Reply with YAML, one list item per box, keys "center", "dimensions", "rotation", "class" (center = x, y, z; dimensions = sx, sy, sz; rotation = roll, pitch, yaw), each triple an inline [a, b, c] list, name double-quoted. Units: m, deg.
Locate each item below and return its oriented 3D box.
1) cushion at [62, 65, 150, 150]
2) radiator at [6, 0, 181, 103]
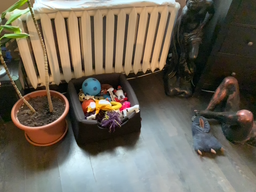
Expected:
- center: [-0.180, 0.050, 1.530]
  dimensions: [0.470, 0.230, 0.500]
  rotation: [-12, 48, -18]
  class: "cushion"
- center: [-0.220, -0.410, 1.650]
  dimensions: [1.110, 0.730, 0.270]
  rotation: [-12, 48, -18]
  class: "radiator"
